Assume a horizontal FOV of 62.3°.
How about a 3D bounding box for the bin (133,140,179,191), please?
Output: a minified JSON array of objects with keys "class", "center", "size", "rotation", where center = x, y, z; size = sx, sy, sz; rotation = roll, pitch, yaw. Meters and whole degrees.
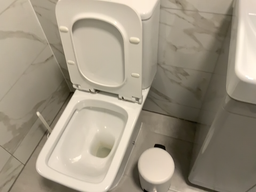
[{"class":"bin","center":[0.140,0.380,1.070],"size":[0.170,0.250,0.190],"rotation":[11,54,13]}]
